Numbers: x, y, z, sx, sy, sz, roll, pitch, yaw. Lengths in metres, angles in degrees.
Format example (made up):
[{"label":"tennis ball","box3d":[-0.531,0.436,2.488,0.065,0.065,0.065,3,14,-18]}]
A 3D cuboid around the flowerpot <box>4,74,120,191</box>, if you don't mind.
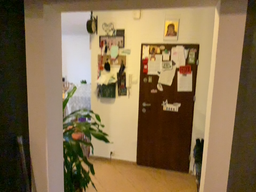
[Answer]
[{"label":"flowerpot","box3d":[-0.700,0.510,2.490,0.950,1.440,0.820,5,10,17]}]
